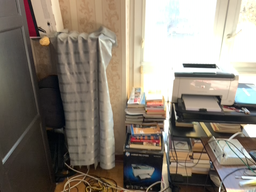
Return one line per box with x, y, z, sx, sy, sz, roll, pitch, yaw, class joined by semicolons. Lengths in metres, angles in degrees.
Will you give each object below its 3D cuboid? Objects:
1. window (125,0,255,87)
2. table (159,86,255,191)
0.780;-0.960;1.490;1.590;1.850;0.140;2;24;3;window
0.620;0.350;1.750;0.640;0.710;0.520;2;24;4;table
